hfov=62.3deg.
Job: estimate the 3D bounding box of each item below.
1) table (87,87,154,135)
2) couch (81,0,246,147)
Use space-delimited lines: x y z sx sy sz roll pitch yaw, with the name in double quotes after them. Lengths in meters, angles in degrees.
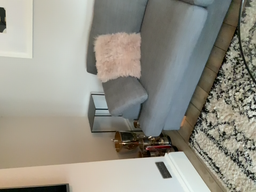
-0.120 0.190 2.750 0.420 0.720 0.420 -120 38 -53 "table"
0.230 -0.860 1.790 1.100 0.840 2.360 -120 38 -53 "couch"
